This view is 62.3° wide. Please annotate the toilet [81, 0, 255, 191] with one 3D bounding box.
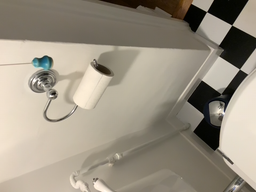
[{"bbox_3d":[0.400,0.180,0.600,0.470,0.880,0.730,44,124,28],"label":"toilet"}]
